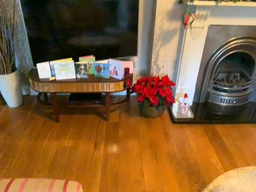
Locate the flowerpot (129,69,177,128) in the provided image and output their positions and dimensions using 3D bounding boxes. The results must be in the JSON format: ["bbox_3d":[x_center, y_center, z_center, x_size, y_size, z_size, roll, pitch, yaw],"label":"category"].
[{"bbox_3d":[0.270,0.010,2.480,0.470,0.450,0.540,3,31,3],"label":"flowerpot"}]

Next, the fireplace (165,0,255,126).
[{"bbox_3d":[1.270,-0.370,2.370,1.470,1.230,0.680,1,31,-1],"label":"fireplace"}]
